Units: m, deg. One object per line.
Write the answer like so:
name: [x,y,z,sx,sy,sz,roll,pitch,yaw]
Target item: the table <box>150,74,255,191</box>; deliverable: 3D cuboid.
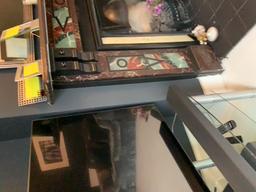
table: [0.620,0.450,0.990,1.110,0.570,0.600,-118,28,-50]
